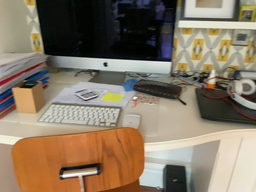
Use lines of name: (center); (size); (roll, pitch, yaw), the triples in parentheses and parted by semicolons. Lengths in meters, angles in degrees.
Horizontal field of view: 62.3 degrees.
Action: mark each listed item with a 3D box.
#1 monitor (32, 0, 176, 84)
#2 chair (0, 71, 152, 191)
monitor: (-0.120, -0.320, 1.020); (0.660, 0.490, 0.050); (5, 27, 8)
chair: (-0.180, 0.400, 0.960); (0.380, 0.880, 0.530); (-4, 26, -10)
